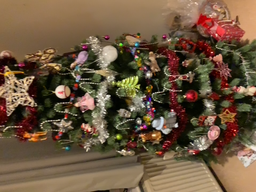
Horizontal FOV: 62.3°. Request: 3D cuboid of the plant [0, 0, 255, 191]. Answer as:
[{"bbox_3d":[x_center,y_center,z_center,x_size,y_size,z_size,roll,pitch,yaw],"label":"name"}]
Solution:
[{"bbox_3d":[-0.050,-0.050,1.370,1.020,1.680,0.920,65,144,40],"label":"plant"}]
